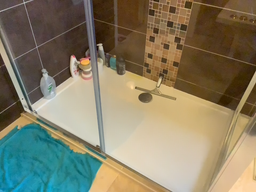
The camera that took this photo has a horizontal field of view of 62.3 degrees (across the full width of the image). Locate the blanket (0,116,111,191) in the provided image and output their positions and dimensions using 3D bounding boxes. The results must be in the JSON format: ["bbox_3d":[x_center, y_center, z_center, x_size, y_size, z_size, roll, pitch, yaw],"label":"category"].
[{"bbox_3d":[-0.560,0.440,1.260,0.740,0.030,0.550,20,45,18],"label":"blanket"}]
